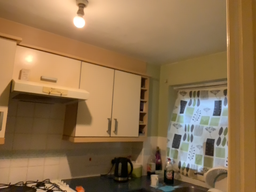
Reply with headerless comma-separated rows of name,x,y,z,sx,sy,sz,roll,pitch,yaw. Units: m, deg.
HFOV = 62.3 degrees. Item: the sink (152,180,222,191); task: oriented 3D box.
sink,0.570,0.950,2.030,0.550,0.120,0.410,10,-10,-39
